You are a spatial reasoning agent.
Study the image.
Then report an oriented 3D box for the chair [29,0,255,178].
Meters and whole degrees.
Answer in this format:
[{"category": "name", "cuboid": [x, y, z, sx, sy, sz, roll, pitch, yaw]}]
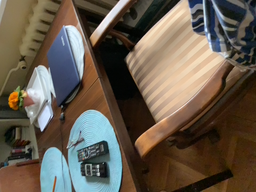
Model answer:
[{"category": "chair", "cuboid": [0.220, -0.160, 0.850, 0.610, 0.920, 0.580, -44, 57, 36]}]
